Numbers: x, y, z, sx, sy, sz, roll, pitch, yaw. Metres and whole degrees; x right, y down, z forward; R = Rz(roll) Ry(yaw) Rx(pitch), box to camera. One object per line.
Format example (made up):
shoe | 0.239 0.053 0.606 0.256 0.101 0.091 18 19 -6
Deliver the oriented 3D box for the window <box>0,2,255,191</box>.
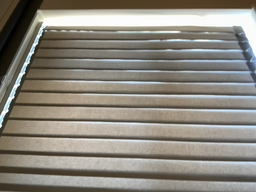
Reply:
window | 0.070 -0.100 1.020 0.020 1.330 1.180 88 -176 -55
